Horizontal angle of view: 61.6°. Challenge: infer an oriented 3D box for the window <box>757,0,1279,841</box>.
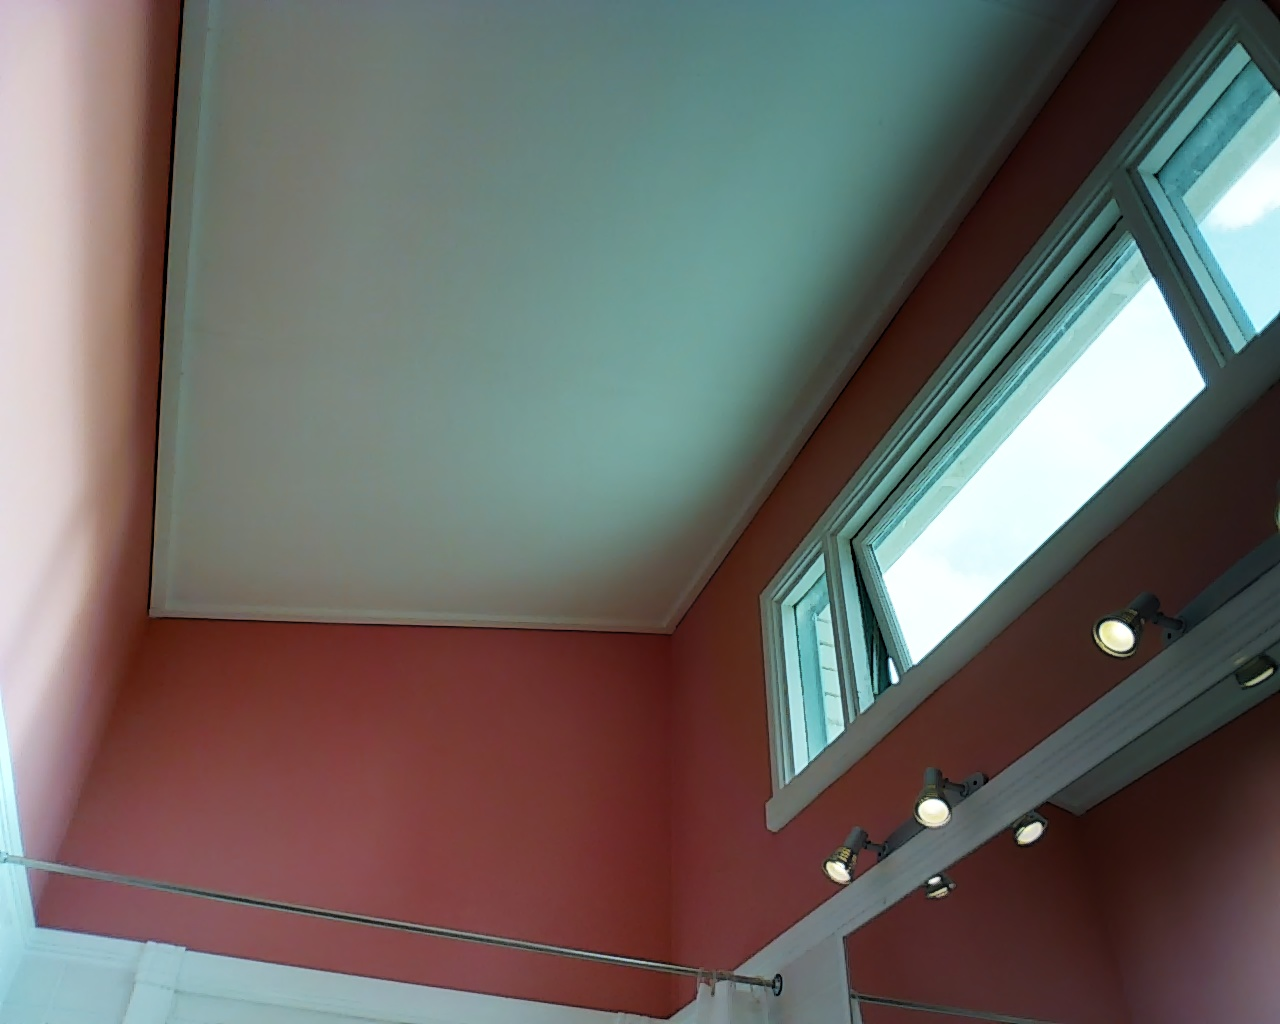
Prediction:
[{"bbox_3d":[0.780,-0.050,2.320,0.180,0.730,2.030,15,-43,-14],"label":"window"}]
